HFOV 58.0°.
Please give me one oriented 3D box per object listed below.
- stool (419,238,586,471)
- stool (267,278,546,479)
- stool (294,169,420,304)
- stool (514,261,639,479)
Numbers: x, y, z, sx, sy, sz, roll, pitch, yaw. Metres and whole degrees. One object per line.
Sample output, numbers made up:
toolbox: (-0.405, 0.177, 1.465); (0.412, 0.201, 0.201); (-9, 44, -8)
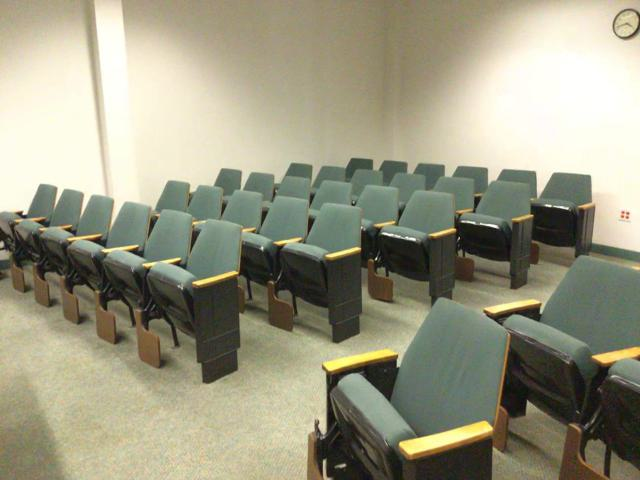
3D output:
stool: (0.820, 0.470, 2.630); (0.530, 0.840, 0.470); (-9, 12, -30)
stool: (0.250, 0.540, 1.900); (0.580, 0.620, 0.700); (-8, 12, -27)
stool: (0.290, -0.070, 4.320); (0.670, 0.870, 0.640); (5, 13, 37)
stool: (1.080, 0.570, 2.200); (0.530, 0.850, 0.410); (-10, 13, -34)
